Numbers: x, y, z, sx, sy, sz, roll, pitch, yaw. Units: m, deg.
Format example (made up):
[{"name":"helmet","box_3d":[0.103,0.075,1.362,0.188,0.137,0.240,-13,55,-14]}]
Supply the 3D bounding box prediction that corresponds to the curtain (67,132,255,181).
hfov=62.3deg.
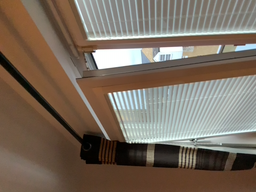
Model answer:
[{"name":"curtain","box_3d":[0.780,0.490,1.620,0.610,2.330,0.210,78,-167,-61]}]
